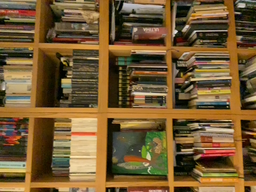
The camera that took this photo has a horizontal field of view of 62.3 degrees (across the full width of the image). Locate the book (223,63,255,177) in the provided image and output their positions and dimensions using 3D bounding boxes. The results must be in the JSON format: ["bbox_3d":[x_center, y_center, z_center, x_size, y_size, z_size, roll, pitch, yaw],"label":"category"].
[{"bbox_3d":[0.900,0.160,1.460,0.290,0.300,0.700,109,162,-79],"label":"book"}]

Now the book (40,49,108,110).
[{"bbox_3d":[-0.340,-0.090,1.450,0.320,0.380,0.340,111,160,-80],"label":"book"}]

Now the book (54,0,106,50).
[{"bbox_3d":[-0.320,-0.490,1.470,0.150,0.320,0.290,114,157,-81],"label":"book"}]

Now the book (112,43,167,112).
[{"bbox_3d":[0.070,-0.110,1.440,0.190,0.350,0.430,121,150,-83],"label":"book"}]

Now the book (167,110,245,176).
[{"bbox_3d":[0.490,0.300,1.410,0.300,0.380,0.380,110,161,-80],"label":"book"}]

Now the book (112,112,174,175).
[{"bbox_3d":[0.080,0.300,1.370,0.240,0.360,0.360,110,161,-80],"label":"book"}]
